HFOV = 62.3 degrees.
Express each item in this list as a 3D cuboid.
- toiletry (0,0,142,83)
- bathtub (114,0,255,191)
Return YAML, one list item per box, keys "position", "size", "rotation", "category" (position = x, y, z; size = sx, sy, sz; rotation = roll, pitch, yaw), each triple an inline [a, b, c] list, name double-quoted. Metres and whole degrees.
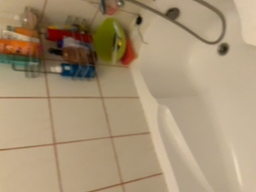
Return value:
- position: [-0.280, -0.260, 1.070]
  size: [0.170, 0.670, 0.310]
  rotation: [-42, 57, 47]
  category: "toiletry"
- position: [0.510, 0.110, 0.970]
  size: [0.700, 0.570, 1.410]
  rotation: [-43, 56, 46]
  category: "bathtub"
